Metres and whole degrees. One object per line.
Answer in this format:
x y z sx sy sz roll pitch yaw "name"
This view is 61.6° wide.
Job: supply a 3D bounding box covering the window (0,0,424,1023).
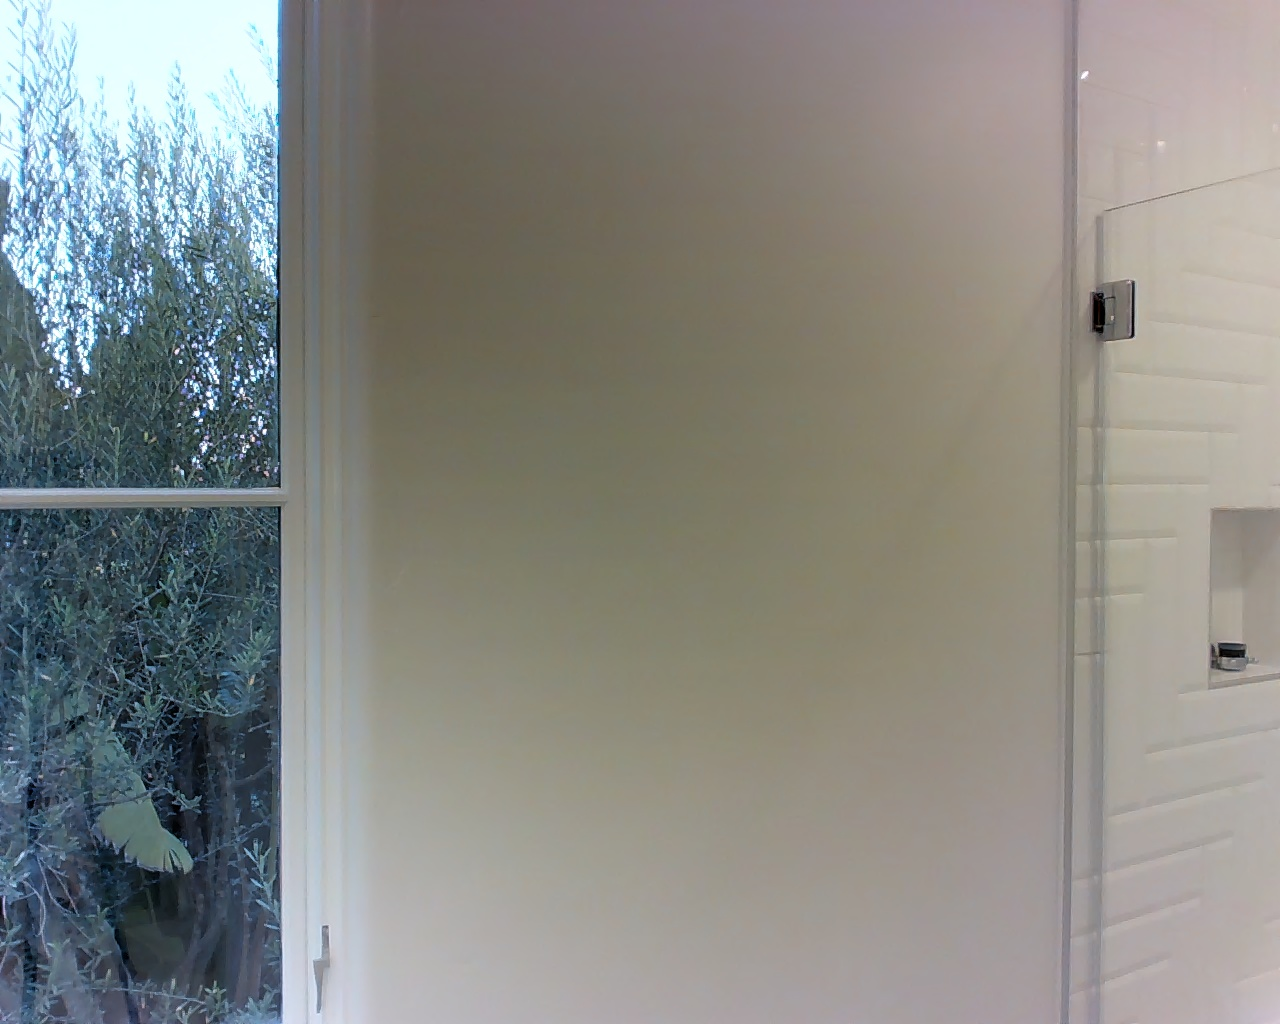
-0.690 0.060 1.170 0.840 1.621 0.180 -2 1 -29 "window"
